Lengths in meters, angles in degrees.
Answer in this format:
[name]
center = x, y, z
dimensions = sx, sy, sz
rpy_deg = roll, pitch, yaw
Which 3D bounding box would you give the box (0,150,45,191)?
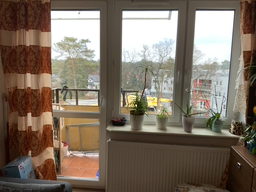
[box]
center = -1.110, 0.750, 1.950
dimensions = 0.570, 0.390, 0.290
rpy_deg = 3, 8, 6

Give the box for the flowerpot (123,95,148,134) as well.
[flowerpot]
center = 0.090, 0.200, 2.370
dimensions = 0.240, 0.370, 0.240
rpy_deg = 3, 8, 8
